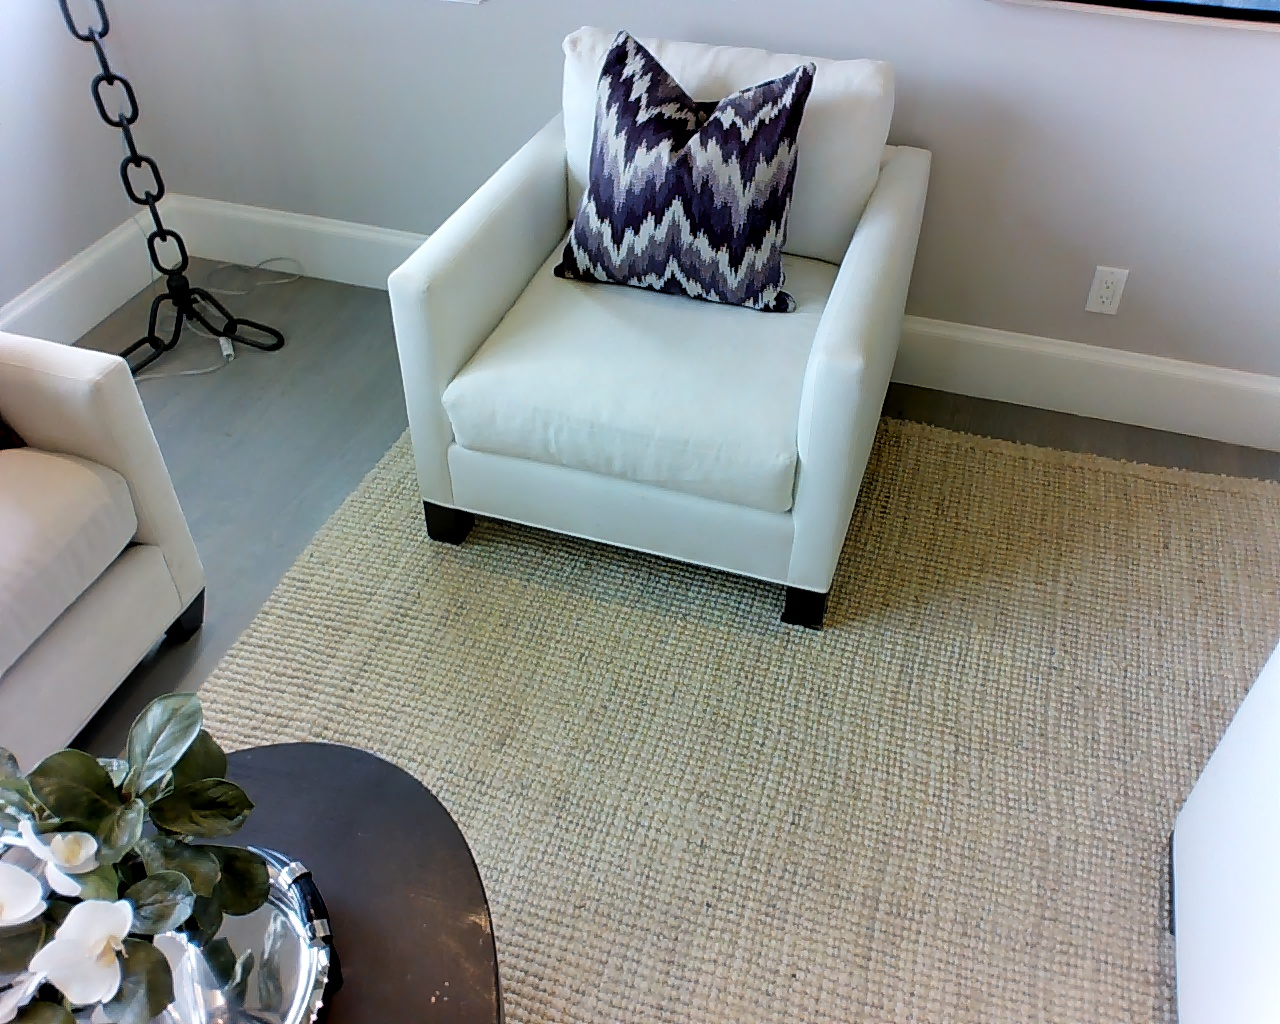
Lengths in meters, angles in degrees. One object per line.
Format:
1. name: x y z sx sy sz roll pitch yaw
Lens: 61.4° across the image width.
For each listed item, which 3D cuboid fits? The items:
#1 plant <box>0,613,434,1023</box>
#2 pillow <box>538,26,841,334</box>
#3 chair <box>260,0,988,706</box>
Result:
1. plant: -0.510 0.400 0.970 0.460 0.320 0.440 12 43 12
2. pillow: 0.090 -0.630 2.050 0.490 0.440 0.240 12 43 12
3. chair: 0.060 -0.420 2.190 1.000 0.910 1.070 12 43 12
